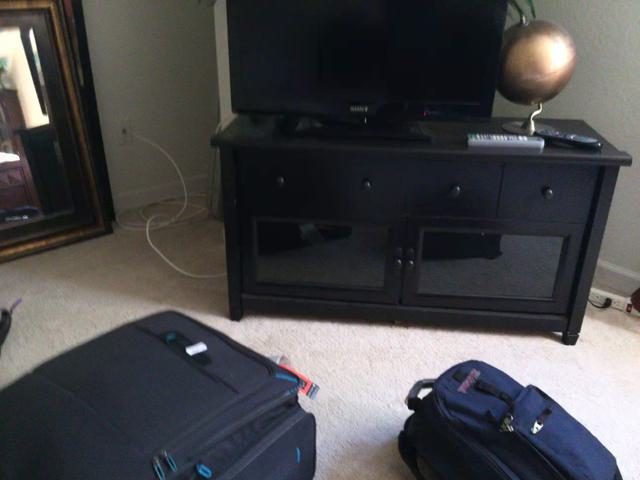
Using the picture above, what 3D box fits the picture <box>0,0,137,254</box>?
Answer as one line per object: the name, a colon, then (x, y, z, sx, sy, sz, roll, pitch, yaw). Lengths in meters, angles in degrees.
picture: (-1.240, -0.560, 2.070, 1.000, 1.210, 0.260, -13, 22, -37)
